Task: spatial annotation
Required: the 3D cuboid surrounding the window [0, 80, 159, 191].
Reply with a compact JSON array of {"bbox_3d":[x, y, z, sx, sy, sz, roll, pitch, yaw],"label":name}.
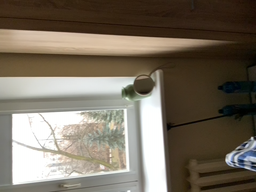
[{"bbox_3d":[-0.720,0.720,1.480,0.310,1.880,1.610,164,103,-75],"label":"window"}]
